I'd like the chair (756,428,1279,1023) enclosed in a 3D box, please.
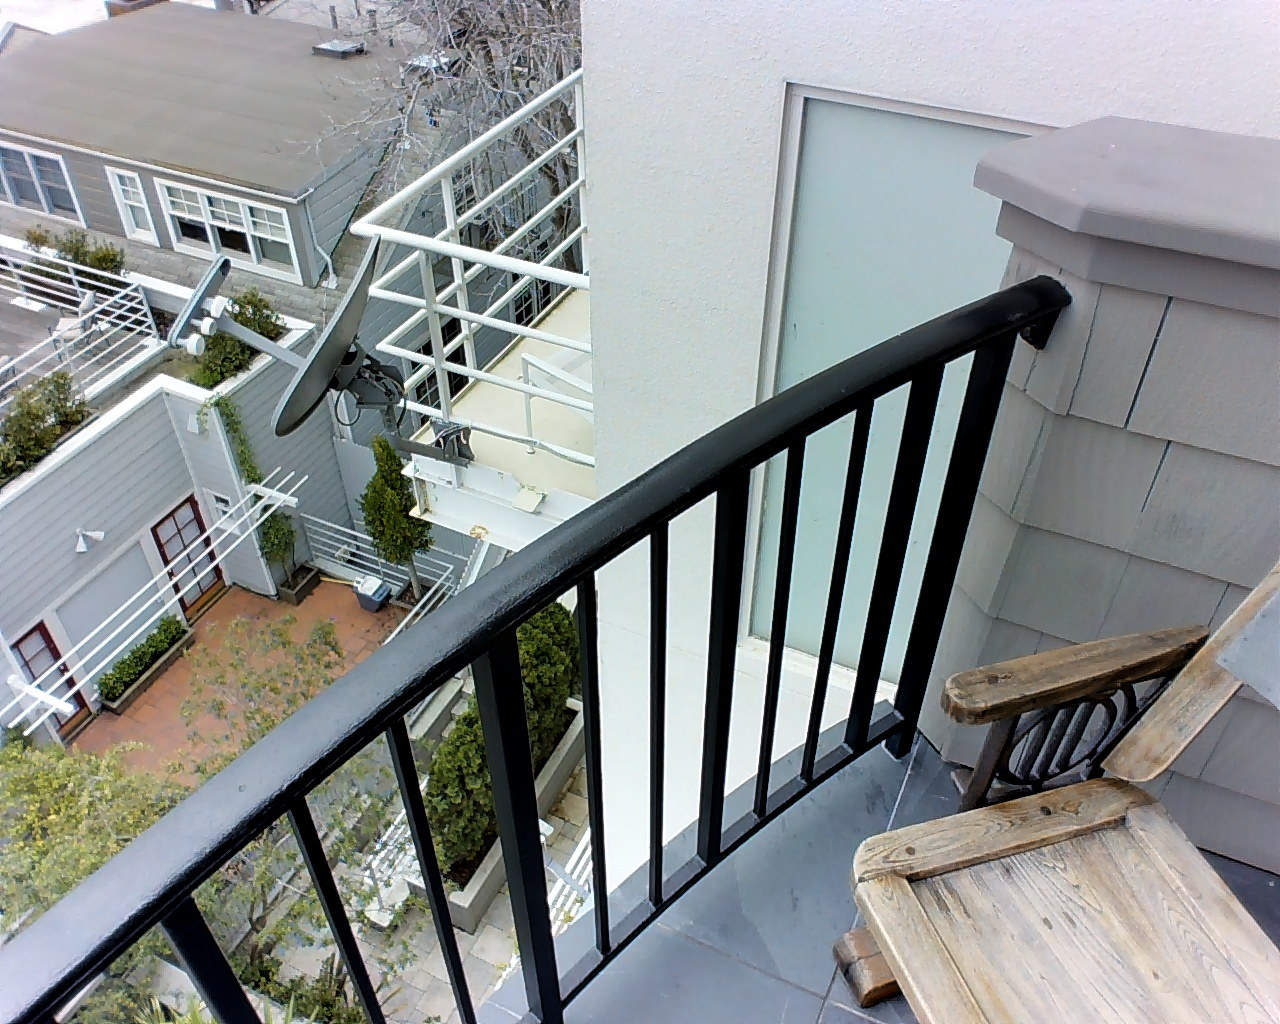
[{"bbox_3d":[0.610,0.480,1.190,0.680,0.820,0.680,-14,43,-15],"label":"chair"}]
